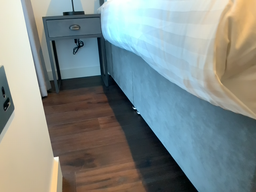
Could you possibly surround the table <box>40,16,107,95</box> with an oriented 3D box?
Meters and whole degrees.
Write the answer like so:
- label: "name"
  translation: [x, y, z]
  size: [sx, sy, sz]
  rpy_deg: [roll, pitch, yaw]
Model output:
- label: "table"
  translation: [-0.460, -0.380, 1.880]
  size: [0.440, 0.590, 0.410]
  rpy_deg: [-7, 22, -12]
